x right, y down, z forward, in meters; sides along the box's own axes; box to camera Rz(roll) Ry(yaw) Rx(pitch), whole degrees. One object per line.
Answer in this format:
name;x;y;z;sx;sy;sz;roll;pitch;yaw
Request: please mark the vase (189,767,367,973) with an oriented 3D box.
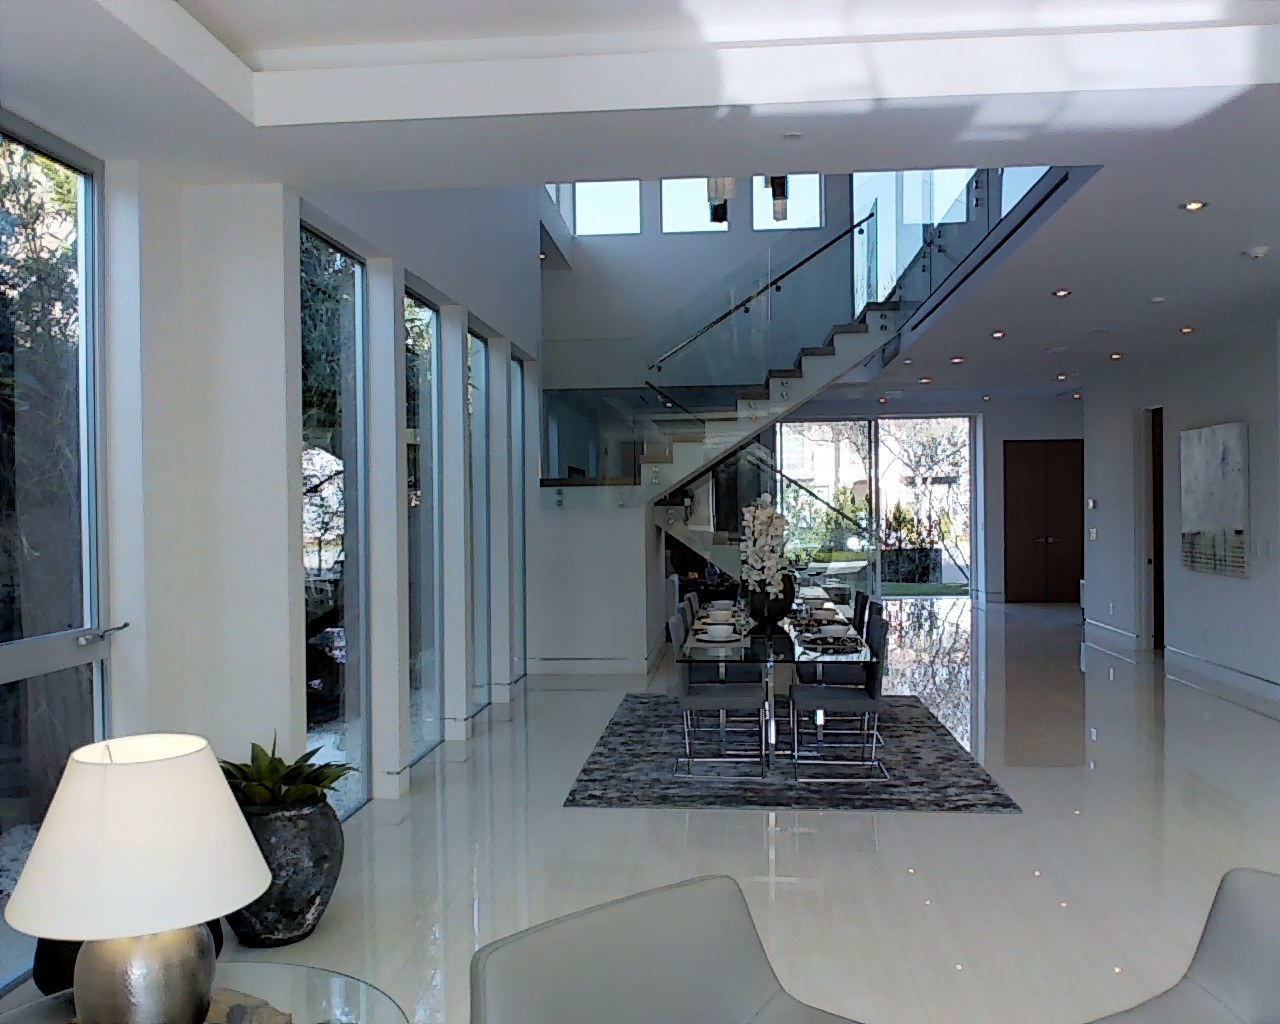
vase;-1.339;1.281;3.950;0.520;0.500;0.560;-1;1;-28
